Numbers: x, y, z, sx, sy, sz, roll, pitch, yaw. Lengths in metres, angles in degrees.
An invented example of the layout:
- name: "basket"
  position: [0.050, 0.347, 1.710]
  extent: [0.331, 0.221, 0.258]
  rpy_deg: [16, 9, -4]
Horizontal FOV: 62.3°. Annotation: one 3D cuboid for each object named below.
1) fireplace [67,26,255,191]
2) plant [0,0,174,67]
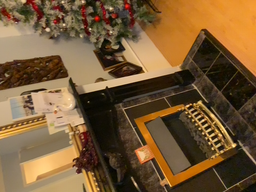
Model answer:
- name: "fireplace"
  position: [0.390, 0.260, 1.440]
  extent: [1.410, 1.190, 0.610]
  rpy_deg: [60, 151, 30]
- name: "plant"
  position: [-0.470, -1.000, 2.120]
  extent: [0.830, 1.640, 0.780]
  rpy_deg: [62, 152, 28]
